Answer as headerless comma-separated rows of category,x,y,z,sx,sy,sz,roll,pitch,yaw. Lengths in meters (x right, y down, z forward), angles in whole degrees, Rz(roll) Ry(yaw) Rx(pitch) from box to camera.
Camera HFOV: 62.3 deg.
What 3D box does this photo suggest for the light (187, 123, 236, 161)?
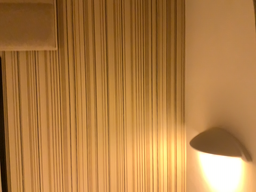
light,0.370,0.200,0.960,0.130,0.110,0.190,-1,-176,-7
